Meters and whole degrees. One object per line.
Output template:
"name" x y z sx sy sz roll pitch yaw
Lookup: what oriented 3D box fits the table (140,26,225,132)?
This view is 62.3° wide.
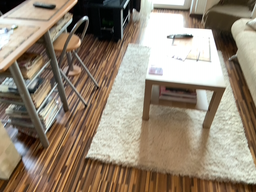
"table" 0.450 -0.210 1.940 0.550 0.460 0.910 7 42 6

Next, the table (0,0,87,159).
"table" -0.740 -0.260 1.700 0.390 0.800 1.180 7 42 6
